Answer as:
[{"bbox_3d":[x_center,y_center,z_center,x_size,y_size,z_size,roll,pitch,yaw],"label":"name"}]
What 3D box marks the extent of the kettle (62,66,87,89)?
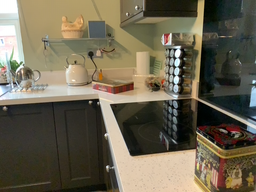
[{"bbox_3d":[-0.440,-0.160,1.760,0.180,0.150,0.210,-3,15,-11],"label":"kettle"}]
